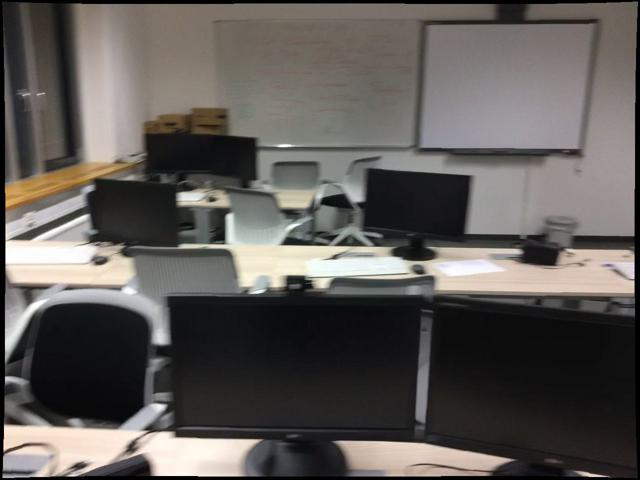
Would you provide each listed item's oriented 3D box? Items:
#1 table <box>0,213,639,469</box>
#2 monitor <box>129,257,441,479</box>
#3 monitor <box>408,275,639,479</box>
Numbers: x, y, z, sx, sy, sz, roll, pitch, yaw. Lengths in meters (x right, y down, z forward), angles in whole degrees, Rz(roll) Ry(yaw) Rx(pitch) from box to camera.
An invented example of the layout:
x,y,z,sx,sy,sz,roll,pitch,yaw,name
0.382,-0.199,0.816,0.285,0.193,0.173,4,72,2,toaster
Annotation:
x,y,z,sx,sy,sz,roll,pitch,yaw,name
0.230,0.420,2.870,4.036,0.841,0.950,-1,18,7,table
-0.060,0.300,1.320,0.639,0.490,0.170,-1,18,7,monitor
0.499,0.340,1.170,0.609,0.450,0.220,3,18,17,monitor
